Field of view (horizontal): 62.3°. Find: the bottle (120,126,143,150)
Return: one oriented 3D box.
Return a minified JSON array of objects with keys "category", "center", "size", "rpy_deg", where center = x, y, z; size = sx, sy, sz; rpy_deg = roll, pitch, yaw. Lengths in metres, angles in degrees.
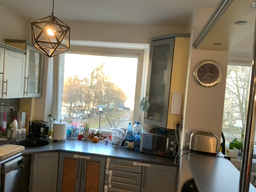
[{"category":"bottle","center":[0.060,0.580,2.980],"size":[0.250,0.250,0.270],"rpy_deg":[5,2,14]}]
